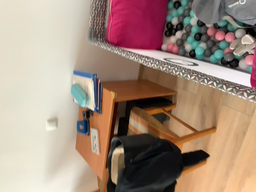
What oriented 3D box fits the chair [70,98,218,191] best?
[{"bbox_3d":[0.130,0.340,1.500,0.480,0.910,0.430,28,116,46],"label":"chair"}]
